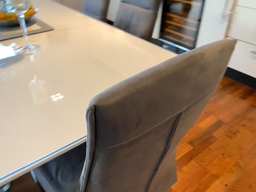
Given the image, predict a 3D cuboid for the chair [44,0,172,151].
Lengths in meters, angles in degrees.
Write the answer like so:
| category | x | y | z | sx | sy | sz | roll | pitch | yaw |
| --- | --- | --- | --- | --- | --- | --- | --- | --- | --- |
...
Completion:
| category | x | y | z | sx | sy | sz | roll | pitch | yaw |
| --- | --- | --- | --- | --- | --- | --- | --- | --- | --- |
| chair | -0.120 | -0.250 | 1.470 | 0.590 | 1.010 | 0.470 | -25 | 43 | -32 |
